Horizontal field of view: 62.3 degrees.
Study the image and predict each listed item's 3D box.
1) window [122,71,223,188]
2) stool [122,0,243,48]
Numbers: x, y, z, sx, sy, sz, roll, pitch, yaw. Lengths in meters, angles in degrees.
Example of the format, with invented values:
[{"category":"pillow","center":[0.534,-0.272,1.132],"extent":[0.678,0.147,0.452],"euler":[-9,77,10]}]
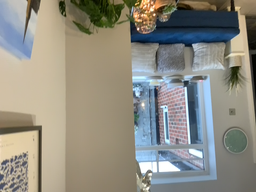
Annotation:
[{"category":"window","center":[0.580,0.420,2.940],"extent":[1.250,1.470,0.290],"euler":[-2,174,-7]},{"category":"stool","center":[0.630,-0.930,2.660],"extent":[1.370,0.510,0.450],"euler":[-2,174,-6]}]
